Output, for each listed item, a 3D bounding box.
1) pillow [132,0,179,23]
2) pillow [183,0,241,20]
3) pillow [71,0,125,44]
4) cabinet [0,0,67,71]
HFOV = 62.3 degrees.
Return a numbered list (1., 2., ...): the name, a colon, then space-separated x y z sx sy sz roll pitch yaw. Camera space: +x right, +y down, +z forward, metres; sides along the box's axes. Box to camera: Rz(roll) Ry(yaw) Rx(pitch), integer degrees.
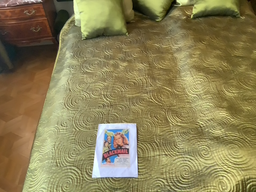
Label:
1. pillow: 0.240 -0.930 1.900 0.380 0.420 0.270 -5 47 -2
2. pillow: 0.700 -0.860 1.780 0.380 0.300 0.300 -1 47 1
3. pillow: -0.240 -0.700 1.780 0.380 0.400 0.280 -8 63 -3
4. cabinet: -0.970 -0.660 2.110 0.510 0.690 0.390 -6 47 -3
